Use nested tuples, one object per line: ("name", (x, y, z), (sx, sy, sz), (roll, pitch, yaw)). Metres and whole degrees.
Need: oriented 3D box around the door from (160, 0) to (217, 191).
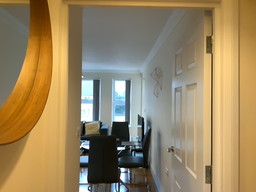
("door", (0.390, 0.460, 1.590), (0.080, 2.020, 0.970), (1, -1, -4))
